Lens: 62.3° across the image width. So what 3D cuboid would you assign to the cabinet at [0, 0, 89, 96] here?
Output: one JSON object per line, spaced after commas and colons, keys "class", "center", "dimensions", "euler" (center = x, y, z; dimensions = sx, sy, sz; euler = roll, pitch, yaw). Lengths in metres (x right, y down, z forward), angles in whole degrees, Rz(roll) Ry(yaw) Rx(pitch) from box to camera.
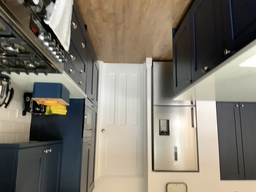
{"class": "cabinet", "center": [-0.750, -0.530, 1.960], "dimensions": [0.620, 0.900, 0.990], "euler": [1, 170, -3]}
